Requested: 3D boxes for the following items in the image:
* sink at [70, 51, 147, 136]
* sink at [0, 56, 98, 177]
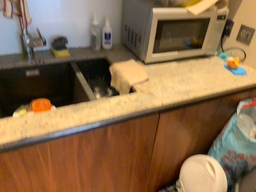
[{"bbox_3d":[-0.110,-0.040,0.970,0.200,0.170,0.410,-11,37,-23],"label":"sink"},{"bbox_3d":[-0.360,0.040,0.880,0.350,0.230,0.410,-11,37,-23],"label":"sink"}]
